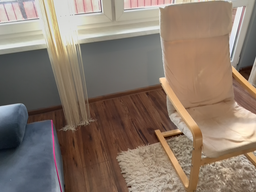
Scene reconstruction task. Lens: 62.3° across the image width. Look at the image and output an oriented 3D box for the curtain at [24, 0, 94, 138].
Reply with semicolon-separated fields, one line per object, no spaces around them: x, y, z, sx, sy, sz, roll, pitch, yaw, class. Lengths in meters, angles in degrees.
-0.530;-0.750;1.350;0.290;2.470;0.280;-12;35;-16;curtain
